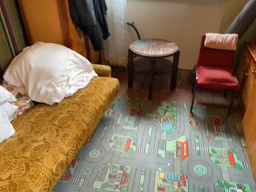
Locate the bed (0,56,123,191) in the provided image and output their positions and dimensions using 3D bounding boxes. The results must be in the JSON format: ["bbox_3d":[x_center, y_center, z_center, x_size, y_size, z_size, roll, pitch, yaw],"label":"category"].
[{"bbox_3d":[-0.960,0.320,1.810,1.230,0.420,2.210,9,33,13],"label":"bed"}]

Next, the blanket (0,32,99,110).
[{"bbox_3d":[-0.870,-0.320,2.210,0.840,0.400,0.840,8,33,13],"label":"blanket"}]
